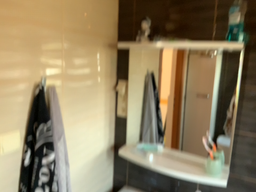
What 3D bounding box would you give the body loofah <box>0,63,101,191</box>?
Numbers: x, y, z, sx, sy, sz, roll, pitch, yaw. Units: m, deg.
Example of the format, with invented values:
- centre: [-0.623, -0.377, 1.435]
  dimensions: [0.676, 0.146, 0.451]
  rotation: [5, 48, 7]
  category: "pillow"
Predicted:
- centre: [-0.330, 0.520, 0.950]
  dimensions: [0.160, 1.310, 0.400]
  rotation: [8, 11, 31]
  category: "body loofah"
